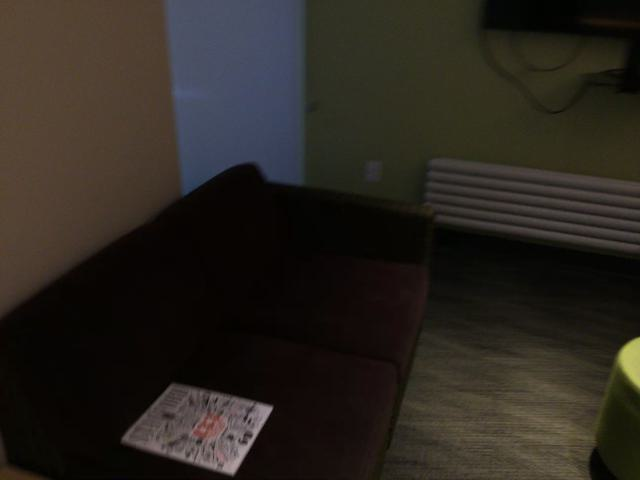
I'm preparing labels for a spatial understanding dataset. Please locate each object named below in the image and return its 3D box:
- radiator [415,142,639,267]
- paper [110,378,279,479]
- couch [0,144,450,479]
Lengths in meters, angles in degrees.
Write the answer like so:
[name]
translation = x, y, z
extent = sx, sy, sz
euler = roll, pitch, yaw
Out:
[radiator]
translation = 1.220, -0.130, 2.620
extent = 1.520, 0.390, 0.140
euler = 11, 24, 15
[paper]
translation = -0.270, 0.410, 1.280
extent = 0.290, 0.020, 0.230
euler = 7, 25, 18
[couch]
translation = -0.130, 0.290, 1.700
extent = 0.790, 0.790, 1.290
euler = 7, 25, 18
